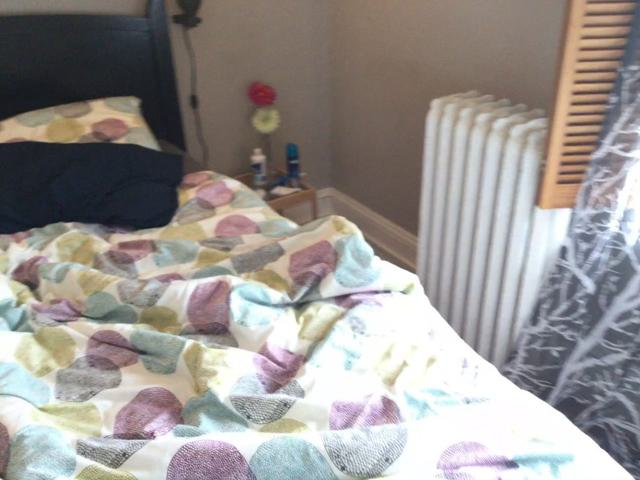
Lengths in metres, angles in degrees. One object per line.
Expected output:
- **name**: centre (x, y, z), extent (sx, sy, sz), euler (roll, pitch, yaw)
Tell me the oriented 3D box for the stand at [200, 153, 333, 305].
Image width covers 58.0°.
- **stand**: centre (-0.240, -0.070, 2.650), extent (0.420, 0.480, 0.440), euler (-17, 32, -28)
